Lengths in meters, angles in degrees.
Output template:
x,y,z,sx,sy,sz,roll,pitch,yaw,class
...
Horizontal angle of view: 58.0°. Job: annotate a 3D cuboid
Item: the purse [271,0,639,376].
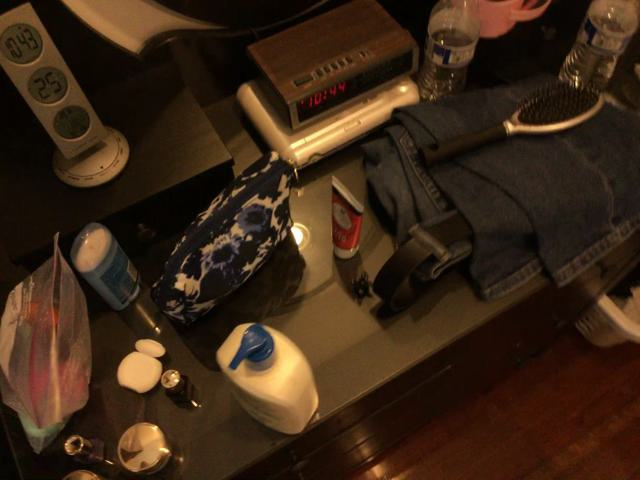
x,y,z,sx,sy,sz,roll,pitch,yaw,class
0.190,-0.080,0.740,0.380,0.150,0.320,-29,63,-11,purse
